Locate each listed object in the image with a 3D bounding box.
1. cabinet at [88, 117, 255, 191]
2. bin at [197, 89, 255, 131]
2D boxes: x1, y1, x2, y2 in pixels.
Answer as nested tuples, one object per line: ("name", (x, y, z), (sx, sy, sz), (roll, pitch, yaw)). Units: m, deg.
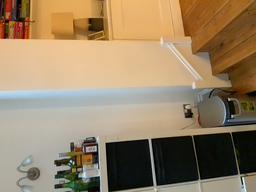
("cabinet", (0.480, 0.690, 1.750), (0.470, 1.530, 0.890), (131, 135, -72))
("bin", (0.950, 0.130, 1.890), (0.350, 0.490, 0.290), (133, 133, -73))
